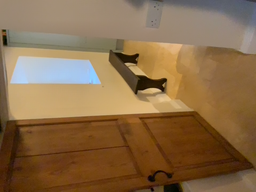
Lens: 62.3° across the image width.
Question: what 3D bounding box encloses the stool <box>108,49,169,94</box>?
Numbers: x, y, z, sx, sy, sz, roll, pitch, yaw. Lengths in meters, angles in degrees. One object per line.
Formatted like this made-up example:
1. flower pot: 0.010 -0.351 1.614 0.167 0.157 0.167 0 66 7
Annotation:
1. stool: 0.090 -0.420 3.290 1.290 0.490 0.220 -125 40 -56
